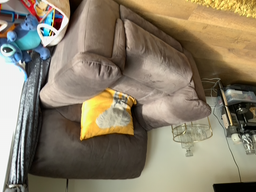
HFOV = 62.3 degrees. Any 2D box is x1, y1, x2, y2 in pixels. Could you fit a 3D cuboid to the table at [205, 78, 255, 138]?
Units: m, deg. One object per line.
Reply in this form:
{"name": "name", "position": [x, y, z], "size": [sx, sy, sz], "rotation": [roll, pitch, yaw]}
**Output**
{"name": "table", "position": [1.360, 0.160, 2.480], "size": [0.640, 0.560, 0.420], "rotation": [3, 152, -15]}
